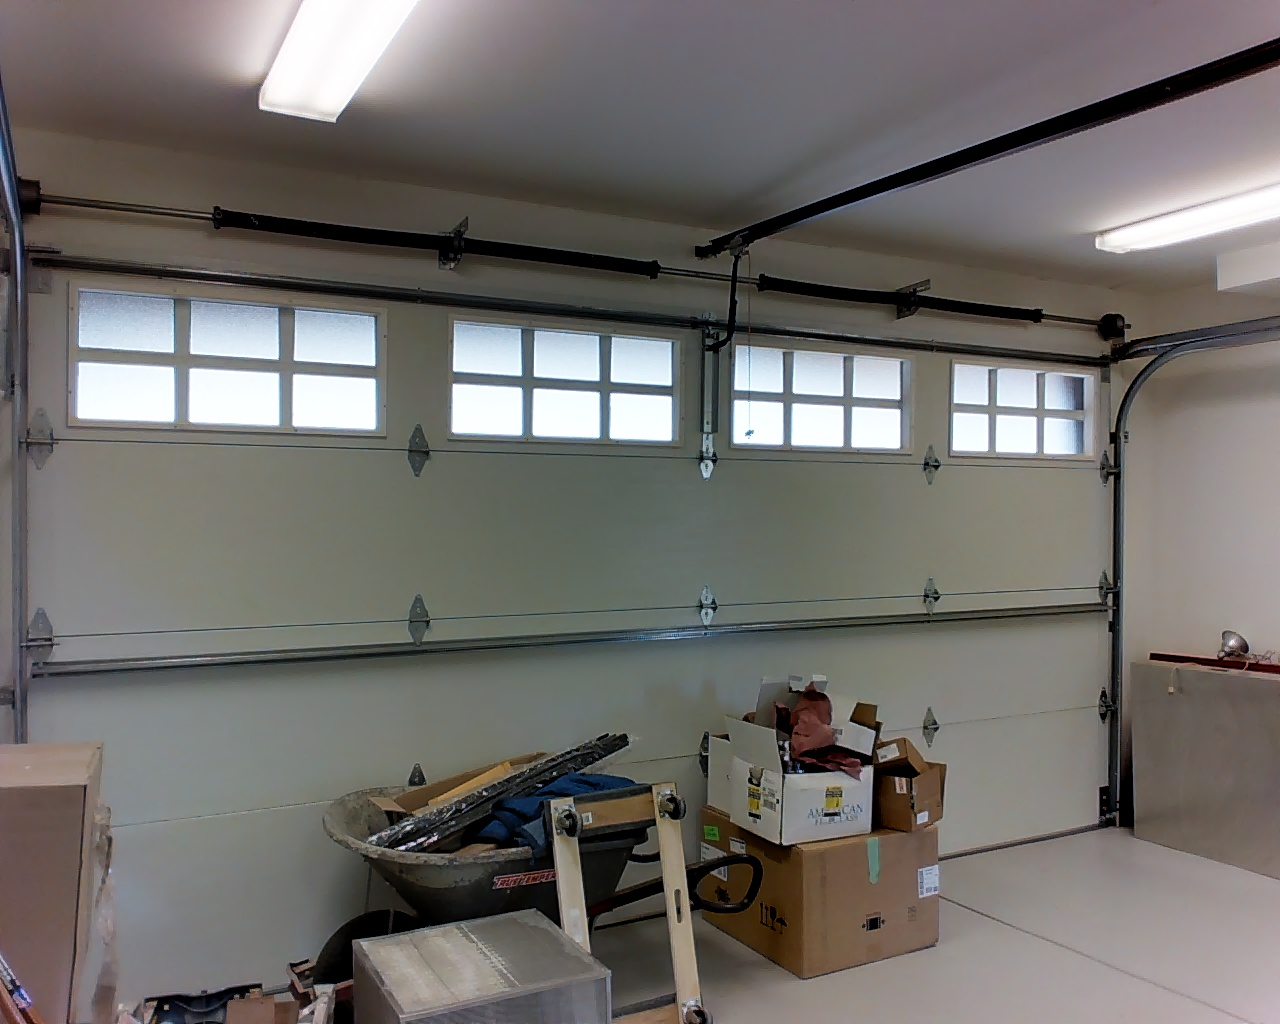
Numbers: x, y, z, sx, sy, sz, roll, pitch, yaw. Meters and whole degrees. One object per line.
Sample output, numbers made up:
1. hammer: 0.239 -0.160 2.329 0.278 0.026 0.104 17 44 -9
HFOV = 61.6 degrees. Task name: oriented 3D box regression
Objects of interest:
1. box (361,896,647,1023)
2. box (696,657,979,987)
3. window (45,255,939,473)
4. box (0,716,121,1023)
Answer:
1. box: -0.370 1.350 2.800 0.580 0.430 0.560 0 -1 -28
2. box: 0.730 1.090 4.040 0.810 0.970 0.660 0 -1 -29
3. window: -0.240 -0.480 4.130 3.580 0.580 0.120 0 -1 -28
4. box: -1.560 0.950 2.450 0.660 0.820 0.580 0 -1 -25
